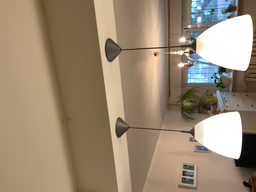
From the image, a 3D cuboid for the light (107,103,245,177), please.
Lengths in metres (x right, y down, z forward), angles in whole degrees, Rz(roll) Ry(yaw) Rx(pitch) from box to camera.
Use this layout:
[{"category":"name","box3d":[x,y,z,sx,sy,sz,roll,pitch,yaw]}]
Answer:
[{"category":"light","box3d":[0.240,0.210,1.150,0.640,0.240,0.270,1,104,16]}]

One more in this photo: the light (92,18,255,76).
[{"category":"light","box3d":[0.190,-0.220,0.960,0.670,0.190,0.210,3,105,16]}]
